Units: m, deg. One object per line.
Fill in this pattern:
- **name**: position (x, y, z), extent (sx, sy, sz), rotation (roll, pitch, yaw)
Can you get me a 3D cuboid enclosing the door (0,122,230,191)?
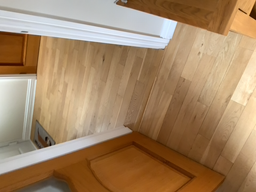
- **door**: position (-0.330, 0.510, 0.900), extent (0.800, 1.990, 0.170), rotation (19, 109, 40)
